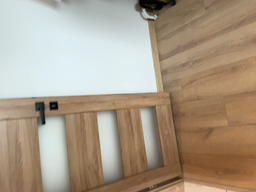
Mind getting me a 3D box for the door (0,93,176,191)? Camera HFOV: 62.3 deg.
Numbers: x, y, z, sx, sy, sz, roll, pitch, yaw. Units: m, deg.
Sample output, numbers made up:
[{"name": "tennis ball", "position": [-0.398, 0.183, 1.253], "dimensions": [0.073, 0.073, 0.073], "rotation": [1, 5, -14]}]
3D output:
[{"name": "door", "position": [-0.470, 0.380, 1.280], "dimensions": [0.110, 1.900, 0.730], "rotation": [-22, 75, 52]}]
